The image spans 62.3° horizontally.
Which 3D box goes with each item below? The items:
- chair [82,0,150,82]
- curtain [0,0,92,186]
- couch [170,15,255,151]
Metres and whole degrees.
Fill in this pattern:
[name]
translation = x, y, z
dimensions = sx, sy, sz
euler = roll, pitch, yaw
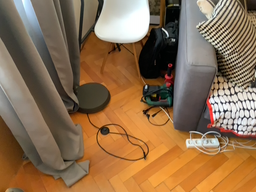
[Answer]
[chair]
translation = -0.060, -0.650, 1.950
dimensions = 0.460, 0.830, 0.580
euler = 5, 47, 6
[curtain]
translation = -0.510, -0.390, 0.730
dimensions = 0.330, 2.500, 0.390
euler = 7, 47, 8
[couch]
translation = 0.840, -0.070, 1.490
dimensions = 0.960, 0.690, 0.600
euler = 7, 47, 8
